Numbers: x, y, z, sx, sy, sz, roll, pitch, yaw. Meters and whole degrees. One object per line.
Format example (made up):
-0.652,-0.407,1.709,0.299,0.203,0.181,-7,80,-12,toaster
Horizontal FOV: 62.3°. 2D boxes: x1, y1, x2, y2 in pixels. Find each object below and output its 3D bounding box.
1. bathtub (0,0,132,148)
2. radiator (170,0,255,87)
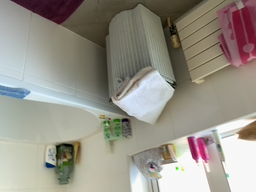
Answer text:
-0.940,-0.120,1.350,1.760,0.550,0.900,19,143,-42,bathtub
0.630,-0.450,1.070,0.100,0.500,0.830,19,143,-41,radiator
